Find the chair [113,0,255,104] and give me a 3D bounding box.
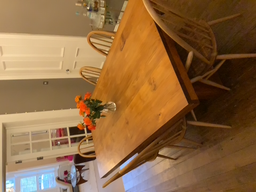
[{"bbox_3d":[0.430,-0.310,1.540,0.510,0.870,0.510,-50,50,55],"label":"chair"}]
